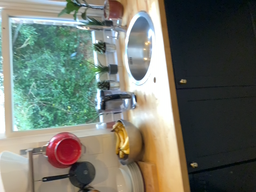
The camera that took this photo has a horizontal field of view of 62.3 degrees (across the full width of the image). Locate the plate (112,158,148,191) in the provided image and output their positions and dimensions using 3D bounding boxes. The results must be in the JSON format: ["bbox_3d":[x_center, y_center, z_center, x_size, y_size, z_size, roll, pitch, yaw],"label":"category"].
[{"bbox_3d":[0.010,0.550,1.340,0.220,0.140,0.260,159,106,-67],"label":"plate"}]
